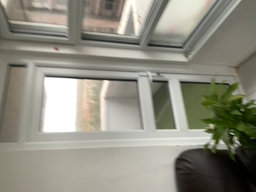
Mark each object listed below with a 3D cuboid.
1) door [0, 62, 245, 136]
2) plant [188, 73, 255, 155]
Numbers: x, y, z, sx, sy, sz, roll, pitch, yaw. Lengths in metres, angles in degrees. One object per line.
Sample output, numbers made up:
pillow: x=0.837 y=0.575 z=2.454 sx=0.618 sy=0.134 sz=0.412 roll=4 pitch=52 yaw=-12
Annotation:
door: x=0.040 y=0.030 z=1.820 sx=0.050 sy=2.090 sz=0.560 roll=124 pitch=145 yaw=-65
plant: x=0.880 y=0.130 z=1.360 sx=0.320 sy=0.840 sz=0.410 roll=123 pitch=145 yaw=-64
